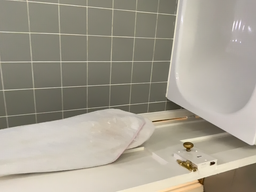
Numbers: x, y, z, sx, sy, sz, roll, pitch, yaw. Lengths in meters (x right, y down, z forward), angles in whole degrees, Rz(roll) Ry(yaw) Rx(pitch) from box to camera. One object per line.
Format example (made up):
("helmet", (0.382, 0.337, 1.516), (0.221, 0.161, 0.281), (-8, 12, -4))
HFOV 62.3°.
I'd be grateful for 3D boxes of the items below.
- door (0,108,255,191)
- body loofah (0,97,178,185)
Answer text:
("door", (-0.010, 0.260, 1.150), (0.860, 2.060, 0.040), (-161, 69, -64))
("body loofah", (-0.370, 0.170, 1.050), (0.530, 1.100, 0.180), (-161, 69, -64))
